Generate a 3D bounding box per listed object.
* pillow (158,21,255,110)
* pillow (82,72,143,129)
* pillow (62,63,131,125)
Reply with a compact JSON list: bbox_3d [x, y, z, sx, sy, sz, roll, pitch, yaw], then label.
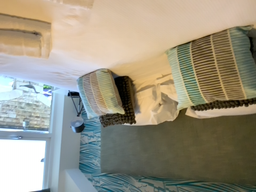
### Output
[{"bbox_3d":[0.430,-0.130,1.120,0.460,0.330,0.180,-12,176,39],"label":"pillow"},{"bbox_3d":[-0.140,0.050,1.780,0.420,0.400,0.150,-12,-174,38],"label":"pillow"},{"bbox_3d":[-0.250,0.000,1.650,0.440,0.380,0.150,-12,-167,38],"label":"pillow"}]
